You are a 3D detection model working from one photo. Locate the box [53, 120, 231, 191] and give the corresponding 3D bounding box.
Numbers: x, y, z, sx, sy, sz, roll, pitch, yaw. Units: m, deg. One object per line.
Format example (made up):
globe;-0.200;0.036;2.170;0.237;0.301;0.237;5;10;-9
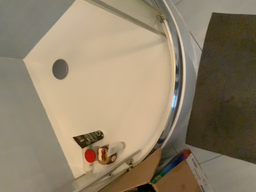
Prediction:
box;0.030;0.530;0.920;0.690;0.560;0.510;-33;78;28
